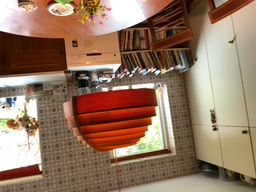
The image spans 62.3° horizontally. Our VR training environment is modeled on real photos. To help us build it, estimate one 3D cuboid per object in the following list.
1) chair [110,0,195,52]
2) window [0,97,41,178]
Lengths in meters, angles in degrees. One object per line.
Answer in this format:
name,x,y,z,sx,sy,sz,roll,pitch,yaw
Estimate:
chair,0.170,-0.860,1.690,0.420,0.870,0.490,-11,175,42
window,-2.060,0.580,2.550,1.800,0.940,0.090,-6,176,-13
